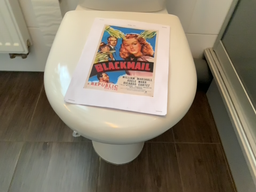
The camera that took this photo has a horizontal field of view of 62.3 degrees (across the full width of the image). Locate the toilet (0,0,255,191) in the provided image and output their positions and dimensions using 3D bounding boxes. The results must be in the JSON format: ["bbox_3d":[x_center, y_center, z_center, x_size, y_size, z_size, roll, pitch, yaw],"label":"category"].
[{"bbox_3d":[-0.010,-0.150,0.610,0.390,0.780,0.590,1,50,-4],"label":"toilet"}]
